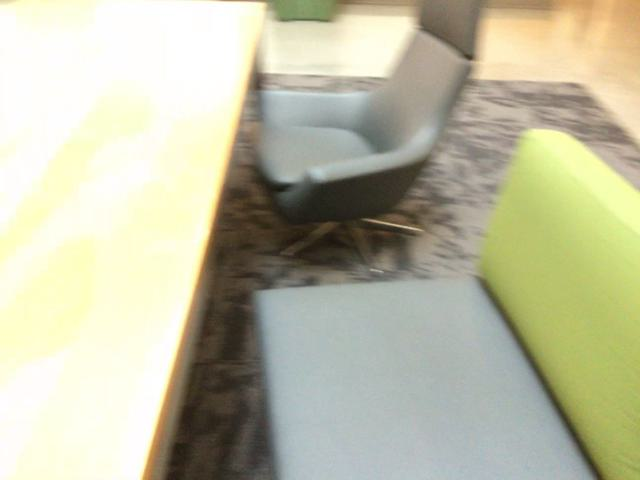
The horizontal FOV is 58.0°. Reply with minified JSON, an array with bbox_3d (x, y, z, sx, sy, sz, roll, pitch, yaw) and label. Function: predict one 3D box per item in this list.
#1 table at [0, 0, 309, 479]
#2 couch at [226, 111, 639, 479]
[{"bbox_3d":[-0.650,-0.020,1.620,1.090,0.860,2.360,1,32,2],"label":"table"},{"bbox_3d":[0.290,0.290,1.140,0.830,0.810,0.760,-6,32,-9],"label":"couch"}]
